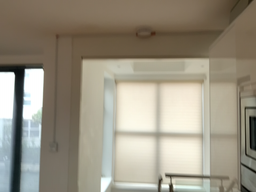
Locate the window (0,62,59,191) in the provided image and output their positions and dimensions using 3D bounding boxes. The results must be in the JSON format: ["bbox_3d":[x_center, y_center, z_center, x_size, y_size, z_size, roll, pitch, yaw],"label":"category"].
[{"bbox_3d":[-2.500,0.520,3.410,2.780,2.090,0.140,1,-3,6],"label":"window"}]
